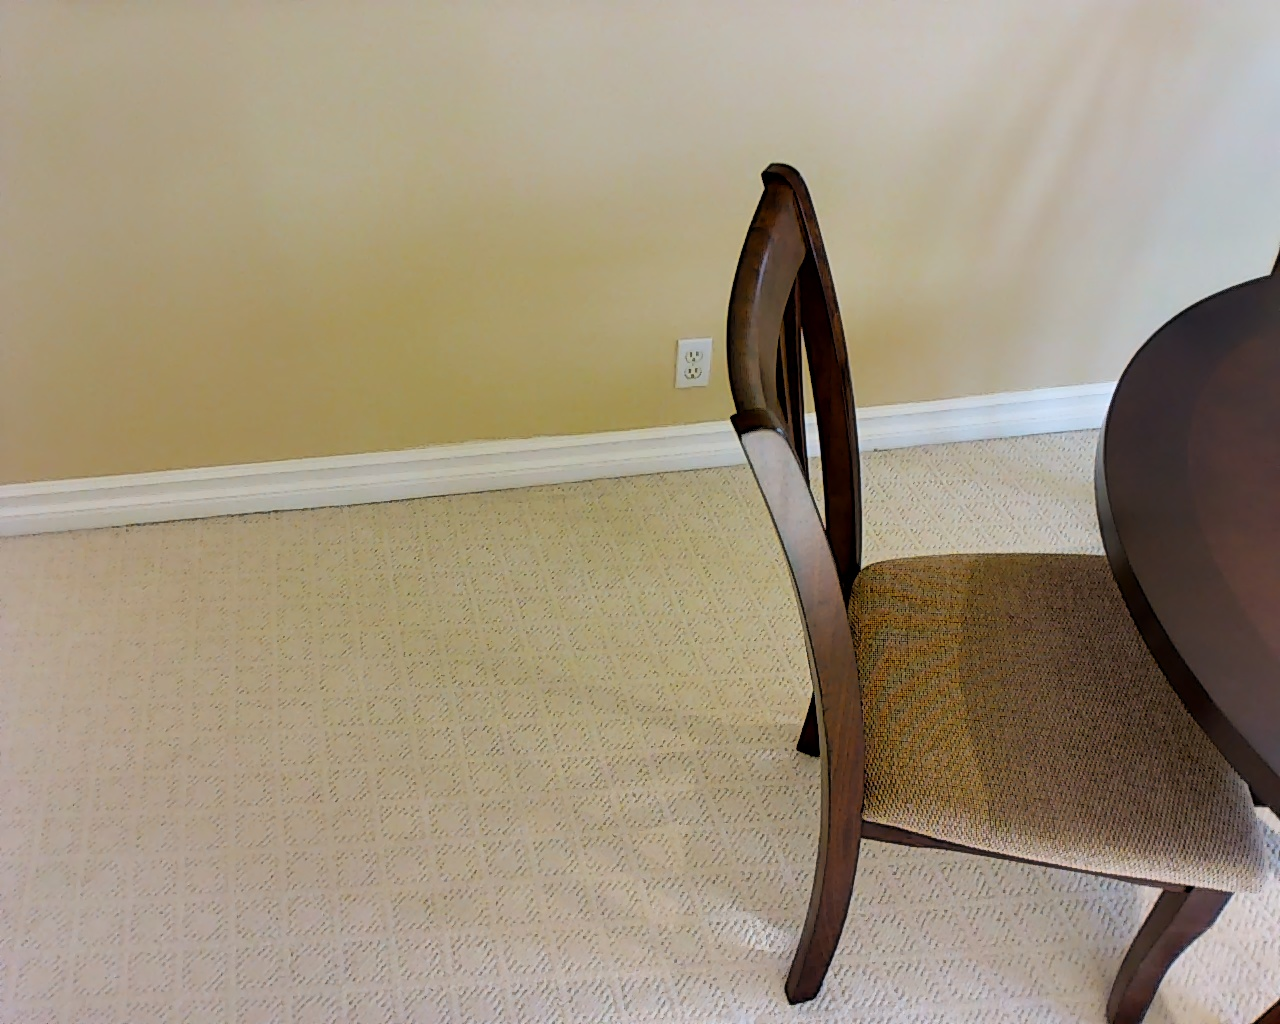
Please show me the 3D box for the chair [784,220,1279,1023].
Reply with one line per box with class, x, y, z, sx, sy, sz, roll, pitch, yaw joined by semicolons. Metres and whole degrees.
chair;0.460;0.190;1.260;0.480;0.870;0.520;4;42;3
